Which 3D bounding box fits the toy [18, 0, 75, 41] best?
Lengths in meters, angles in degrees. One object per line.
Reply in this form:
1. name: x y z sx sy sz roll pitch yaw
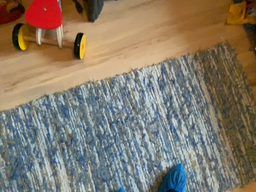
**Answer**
1. toy: -0.440 -0.610 1.110 0.190 0.280 0.540 -10 84 -5
